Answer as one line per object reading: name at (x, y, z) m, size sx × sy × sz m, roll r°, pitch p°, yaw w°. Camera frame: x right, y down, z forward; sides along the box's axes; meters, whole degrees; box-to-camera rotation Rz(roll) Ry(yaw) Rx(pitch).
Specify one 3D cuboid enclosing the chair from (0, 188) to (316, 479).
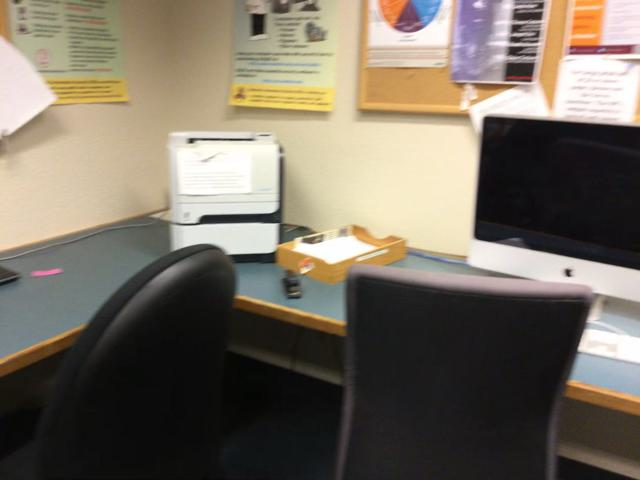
chair at (-0.470, 0.500, 1.200) m, size 0.730 × 1.070 × 0.560 m, roll 9°, pitch 18°, yaw 28°

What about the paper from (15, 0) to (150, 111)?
paper at (-0.810, -0.770, 2.000) m, size 0.080 × 0.610 × 0.460 m, roll 9°, pitch 18°, yaw 29°

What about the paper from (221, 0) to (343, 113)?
paper at (-0.150, -0.800, 2.130) m, size 0.500 × 0.630 × 0.050 m, roll 9°, pitch 18°, yaw 28°

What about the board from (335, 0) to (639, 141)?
board at (0.510, -0.670, 1.750) m, size 1.000 × 0.670 × 0.080 m, roll 9°, pitch 18°, yaw 28°

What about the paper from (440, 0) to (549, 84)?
paper at (0.520, -0.690, 1.720) m, size 0.290 × 0.430 × 0.060 m, roll 9°, pitch 18°, yaw 28°

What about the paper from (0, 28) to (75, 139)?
paper at (-0.940, -0.490, 1.820) m, size 0.070 × 0.320 × 0.300 m, roll 9°, pitch 18°, yaw 29°

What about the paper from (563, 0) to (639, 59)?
paper at (0.800, -0.640, 1.590) m, size 0.210 × 0.270 × 0.050 m, roll 9°, pitch 18°, yaw 28°
